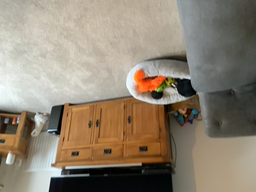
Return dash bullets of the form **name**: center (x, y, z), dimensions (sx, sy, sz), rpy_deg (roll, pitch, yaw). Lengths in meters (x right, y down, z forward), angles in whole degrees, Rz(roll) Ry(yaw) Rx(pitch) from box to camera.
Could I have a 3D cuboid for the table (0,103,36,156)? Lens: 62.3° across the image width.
- **table**: center (-1.690, 0.480, 2.980), dimensions (0.520, 0.590, 0.530), rpy_deg (5, 153, -8)
